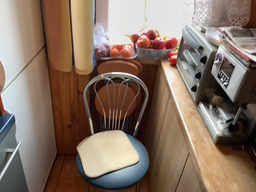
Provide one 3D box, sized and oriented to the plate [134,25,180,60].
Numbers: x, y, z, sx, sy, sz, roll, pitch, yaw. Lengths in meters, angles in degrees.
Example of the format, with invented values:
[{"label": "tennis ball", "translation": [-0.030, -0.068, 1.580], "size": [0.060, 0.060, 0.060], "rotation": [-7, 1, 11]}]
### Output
[{"label": "plate", "translation": [0.190, -0.380, 1.490], "size": [0.280, 0.140, 0.240], "rotation": [6, 33, -1]}]
